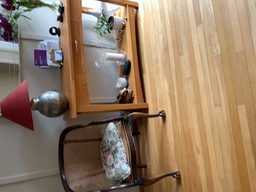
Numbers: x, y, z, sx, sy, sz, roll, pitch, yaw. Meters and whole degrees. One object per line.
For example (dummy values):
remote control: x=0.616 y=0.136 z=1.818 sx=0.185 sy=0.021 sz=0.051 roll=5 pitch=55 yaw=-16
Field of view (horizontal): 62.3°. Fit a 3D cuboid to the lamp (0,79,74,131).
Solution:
lamp: x=-0.730 y=0.070 z=1.690 sx=0.380 sy=0.480 sz=0.350 roll=-10 pitch=82 yaw=59
